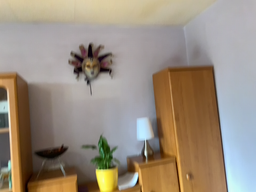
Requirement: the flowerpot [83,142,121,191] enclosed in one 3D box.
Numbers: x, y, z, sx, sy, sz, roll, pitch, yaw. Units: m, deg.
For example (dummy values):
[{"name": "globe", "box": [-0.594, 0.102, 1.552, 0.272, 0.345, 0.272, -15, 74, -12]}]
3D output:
[{"name": "flowerpot", "box": [-0.220, 0.570, 1.750, 0.260, 0.320, 0.200, -4, -4, -16]}]
